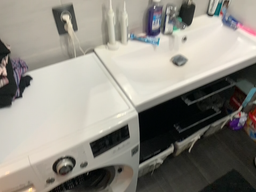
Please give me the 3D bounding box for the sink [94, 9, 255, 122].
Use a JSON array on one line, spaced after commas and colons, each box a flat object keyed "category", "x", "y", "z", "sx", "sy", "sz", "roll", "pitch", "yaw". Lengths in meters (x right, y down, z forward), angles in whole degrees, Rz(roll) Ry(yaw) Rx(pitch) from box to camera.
[{"category": "sink", "x": 0.290, "y": -0.210, "z": 1.070, "sx": 0.810, "sy": 0.120, "sz": 0.420, "roll": -21, "pitch": 51, "yaw": -19}]
